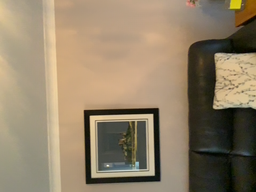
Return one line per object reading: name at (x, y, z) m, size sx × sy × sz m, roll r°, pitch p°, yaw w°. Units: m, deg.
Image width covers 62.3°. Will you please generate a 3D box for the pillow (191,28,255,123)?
pillow at (0.870, -0.150, 1.660) m, size 0.510 × 0.460 × 0.240 m, roll -53°, pitch 1°, yaw 1°
